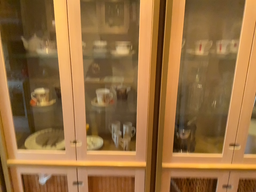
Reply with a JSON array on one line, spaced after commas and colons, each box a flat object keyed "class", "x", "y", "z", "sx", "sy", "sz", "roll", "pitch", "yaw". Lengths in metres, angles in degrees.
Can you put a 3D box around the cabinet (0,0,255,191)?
[{"class": "cabinet", "x": 0.150, "y": 0.130, "z": 1.330, "sx": 1.770, "sy": 2.080, "sz": 0.430, "roll": 1, "pitch": 17, "yaw": 0}]
